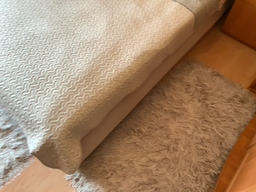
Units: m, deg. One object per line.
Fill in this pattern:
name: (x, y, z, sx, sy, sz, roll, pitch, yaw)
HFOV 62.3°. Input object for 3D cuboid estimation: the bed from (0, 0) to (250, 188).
bed: (-0.250, -0.790, 1.670, 1.730, 0.510, 2.120, 39, 64, 19)
